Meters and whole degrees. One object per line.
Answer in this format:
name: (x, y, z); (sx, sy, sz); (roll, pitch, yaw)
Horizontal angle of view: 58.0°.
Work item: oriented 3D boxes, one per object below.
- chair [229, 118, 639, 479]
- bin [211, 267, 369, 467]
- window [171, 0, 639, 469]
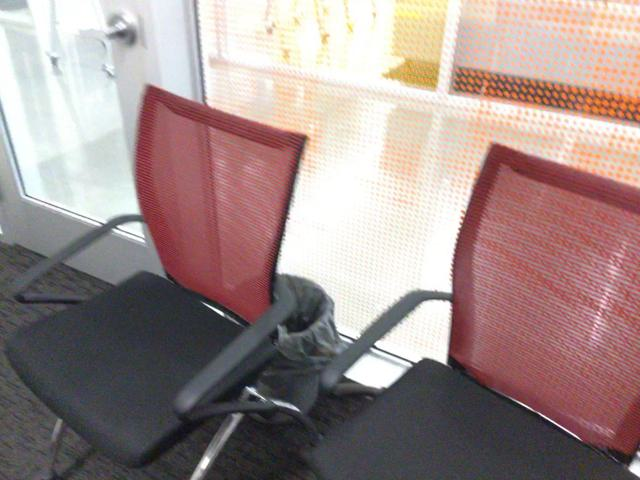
chair: (0.280, 0.360, 1.040); (0.580, 0.910, 0.600); (22, 36, 30)
bin: (-0.080, 0.340, 1.610); (0.300, 0.350, 0.310); (18, 34, 21)
window: (0.480, -0.100, 1.310); (1.840, 1.170, 0.180); (17, 34, 21)
